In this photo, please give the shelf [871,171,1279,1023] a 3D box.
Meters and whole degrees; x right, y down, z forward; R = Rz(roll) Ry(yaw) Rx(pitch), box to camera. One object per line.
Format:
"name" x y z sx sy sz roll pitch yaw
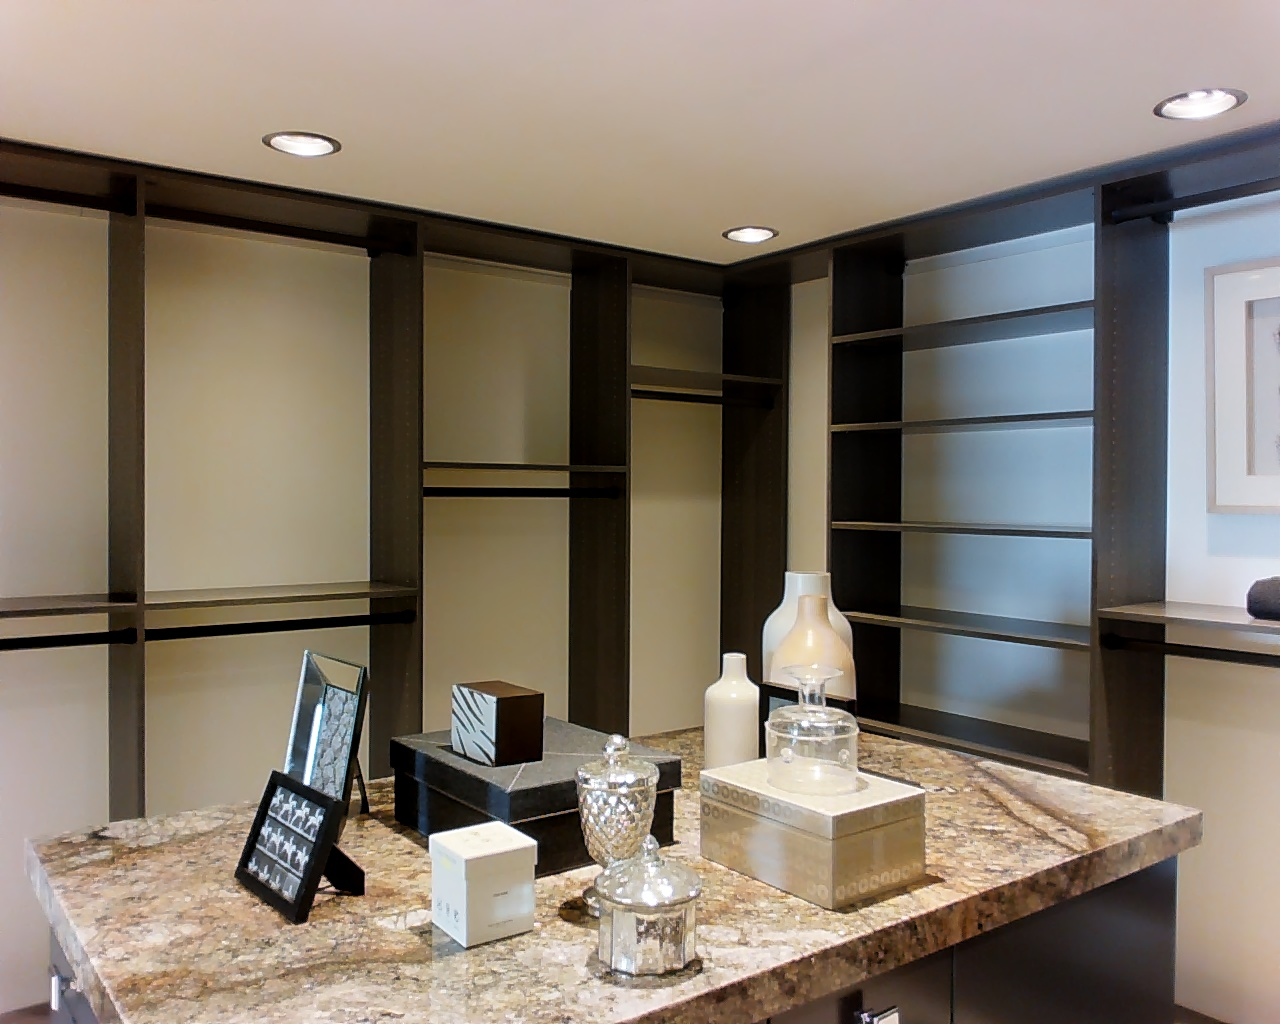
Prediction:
"shelf" 1.840 0.260 2.500 0.120 2.230 3.250 0 1 -37
